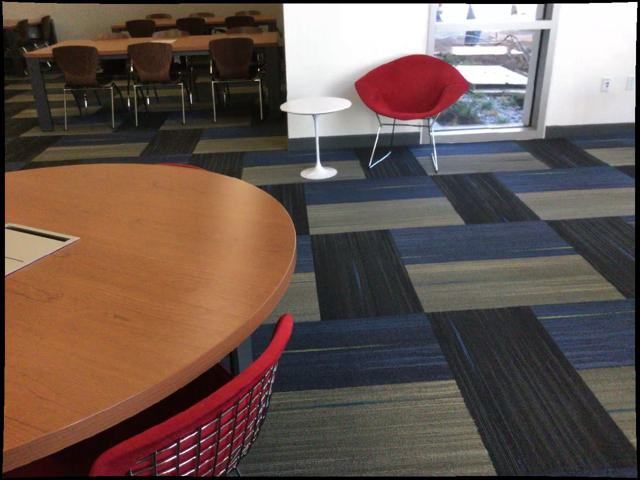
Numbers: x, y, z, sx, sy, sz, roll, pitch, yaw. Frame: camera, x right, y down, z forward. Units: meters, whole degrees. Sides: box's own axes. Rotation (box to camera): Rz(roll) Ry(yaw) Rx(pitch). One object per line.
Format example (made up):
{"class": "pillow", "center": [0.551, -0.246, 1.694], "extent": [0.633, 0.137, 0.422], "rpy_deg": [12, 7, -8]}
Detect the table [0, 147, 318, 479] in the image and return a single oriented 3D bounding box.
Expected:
{"class": "table", "center": [-0.758, 0.361, 1.680], "extent": [1.486, 0.792, 1.551], "rpy_deg": [-1, 26, 0]}

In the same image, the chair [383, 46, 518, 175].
{"class": "chair", "center": [0.948, -1.003, 4.330], "extent": [0.848, 0.752, 0.820], "rpy_deg": [4, 27, 10]}
